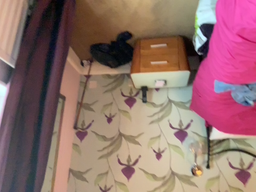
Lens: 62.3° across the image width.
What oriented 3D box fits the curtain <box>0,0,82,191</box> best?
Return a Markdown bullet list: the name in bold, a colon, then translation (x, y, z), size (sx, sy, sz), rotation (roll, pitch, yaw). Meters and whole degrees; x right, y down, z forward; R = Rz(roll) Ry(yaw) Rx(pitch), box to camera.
- **curtain**: translation (-0.590, 0.370, 1.240), size (0.320, 2.350, 0.340), rotation (-1, 161, 6)
